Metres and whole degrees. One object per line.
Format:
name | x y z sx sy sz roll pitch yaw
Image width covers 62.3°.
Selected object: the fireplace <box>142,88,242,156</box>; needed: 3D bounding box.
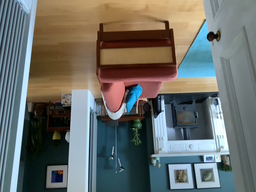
fireplace | 1.300 0.630 4.800 1.800 1.300 1.020 -2 163 -1
